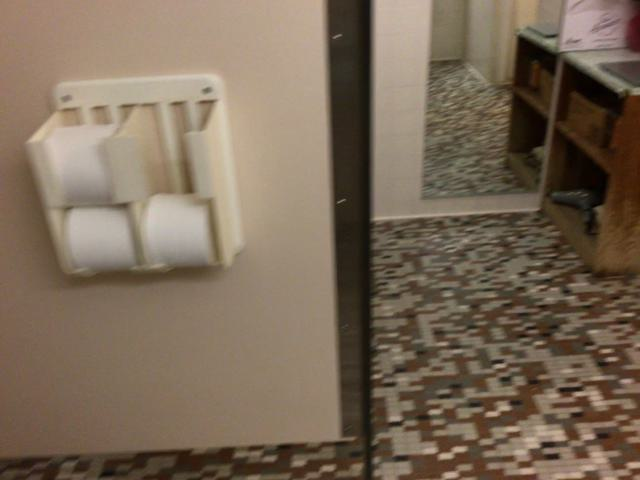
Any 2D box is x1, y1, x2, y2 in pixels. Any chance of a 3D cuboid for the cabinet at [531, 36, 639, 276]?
[{"bbox_3d":[1.190,-0.360,2.350,0.400,0.760,0.630,-5,29,3],"label":"cabinet"}]
